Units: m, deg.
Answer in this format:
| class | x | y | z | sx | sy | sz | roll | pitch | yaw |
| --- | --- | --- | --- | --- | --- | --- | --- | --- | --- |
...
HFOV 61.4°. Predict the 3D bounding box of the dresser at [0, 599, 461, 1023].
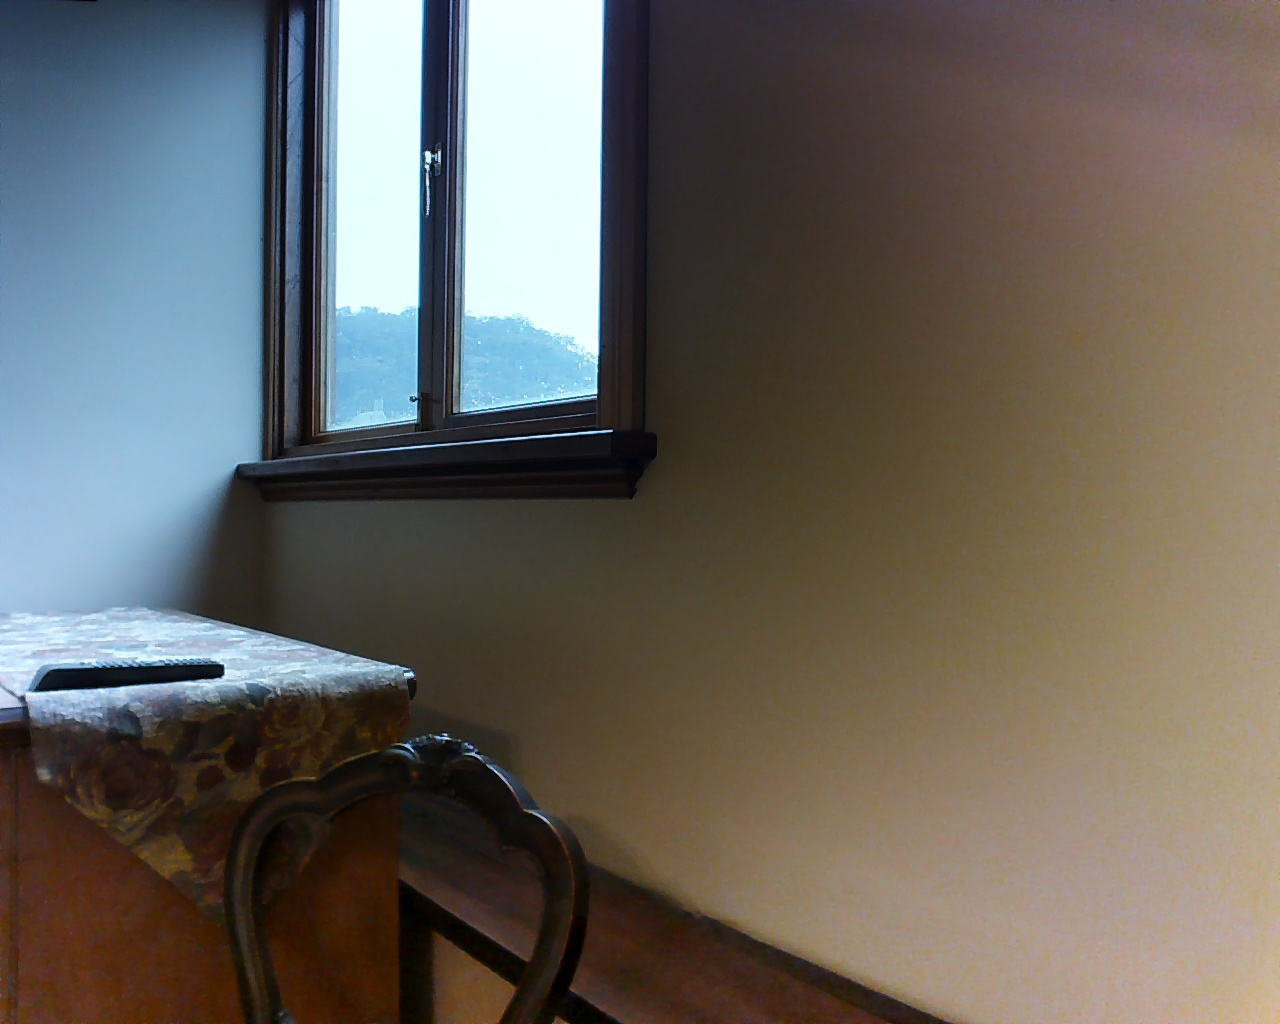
| class | x | y | z | sx | sy | sz | roll | pitch | yaw |
| --- | --- | --- | --- | --- | --- | --- | --- | --- | --- |
| dresser | -0.740 | 0.640 | 1.540 | 0.480 | 0.950 | 1.140 | 1 | -1 | -36 |
